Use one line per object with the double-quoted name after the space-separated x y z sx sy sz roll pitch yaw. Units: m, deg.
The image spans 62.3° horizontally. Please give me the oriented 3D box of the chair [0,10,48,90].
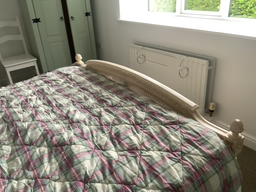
-1.490 -0.650 2.940 0.410 0.950 0.510 -20 32 -31 "chair"
